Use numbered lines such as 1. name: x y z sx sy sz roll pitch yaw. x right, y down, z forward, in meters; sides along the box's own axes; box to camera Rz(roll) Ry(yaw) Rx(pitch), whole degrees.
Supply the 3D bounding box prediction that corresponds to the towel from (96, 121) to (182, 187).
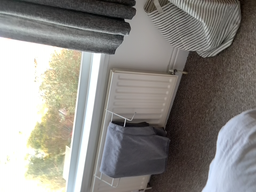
1. towel: 0.080 0.440 1.650 0.140 0.570 0.470 -131 49 -58
